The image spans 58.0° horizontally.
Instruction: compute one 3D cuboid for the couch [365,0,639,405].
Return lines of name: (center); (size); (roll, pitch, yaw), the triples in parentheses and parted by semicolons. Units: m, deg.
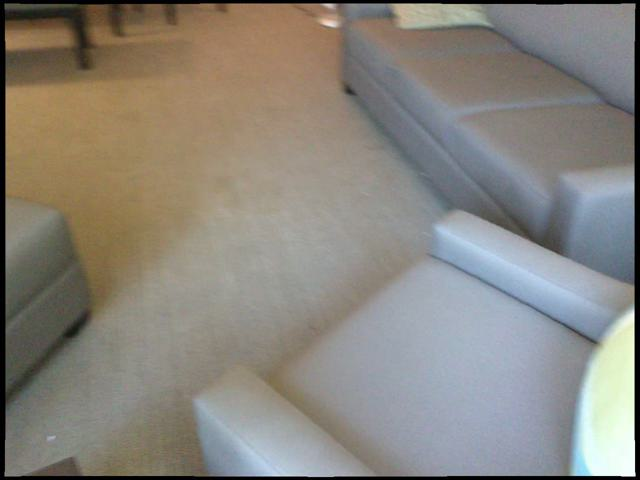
couch: (0.978, -0.571, 2.350); (0.998, 0.891, 2.261); (-7, 32, -9)
